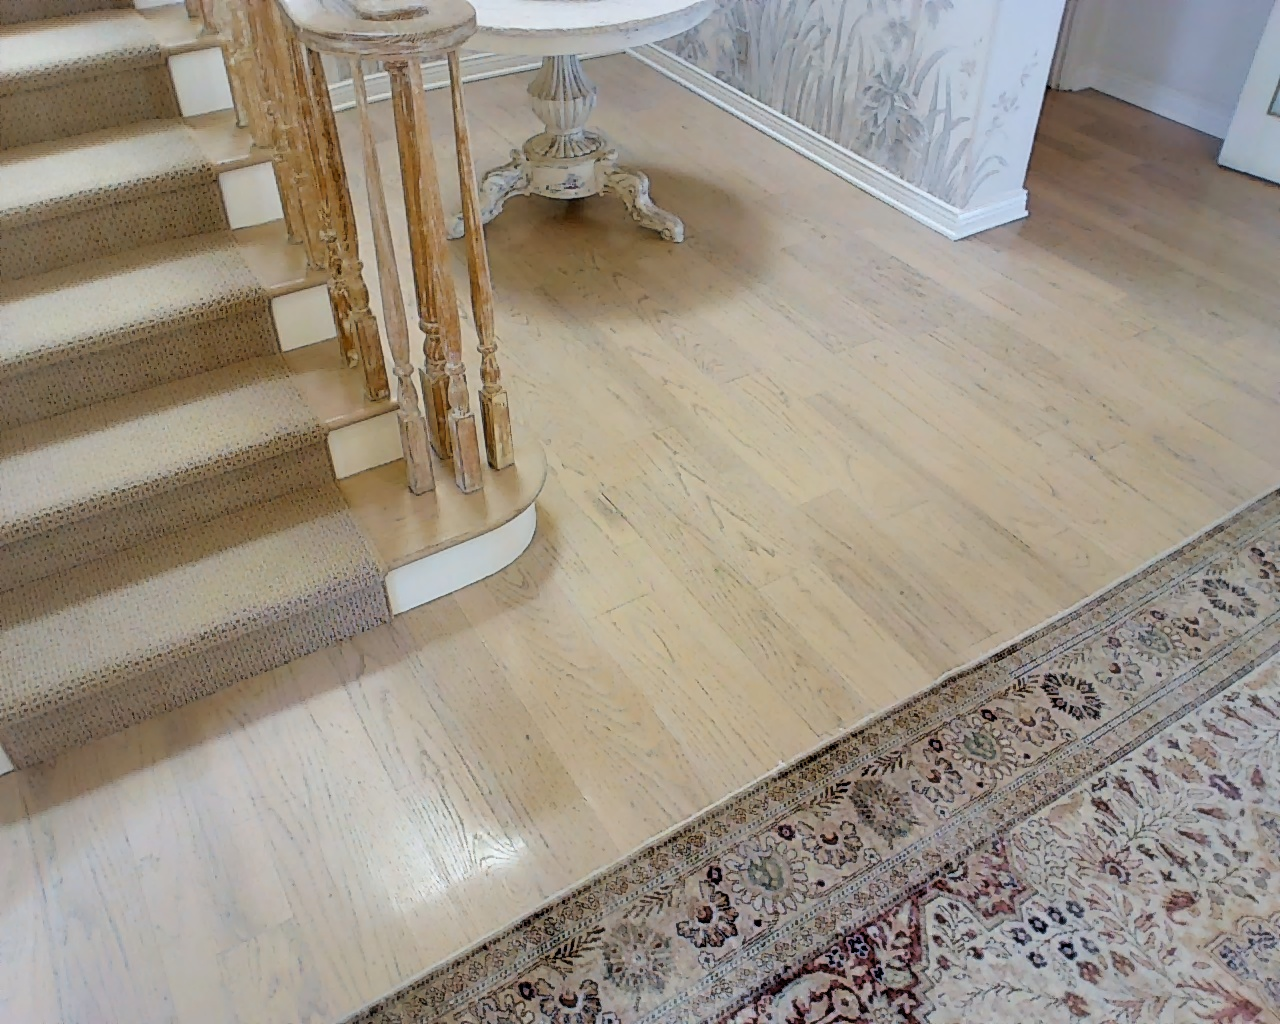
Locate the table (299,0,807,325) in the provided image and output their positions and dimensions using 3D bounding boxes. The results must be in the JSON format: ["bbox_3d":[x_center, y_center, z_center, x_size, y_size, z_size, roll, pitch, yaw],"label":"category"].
[{"bbox_3d":[-0.240,-1.340,3.460,1.100,0.780,1.080,26,48,27],"label":"table"}]
